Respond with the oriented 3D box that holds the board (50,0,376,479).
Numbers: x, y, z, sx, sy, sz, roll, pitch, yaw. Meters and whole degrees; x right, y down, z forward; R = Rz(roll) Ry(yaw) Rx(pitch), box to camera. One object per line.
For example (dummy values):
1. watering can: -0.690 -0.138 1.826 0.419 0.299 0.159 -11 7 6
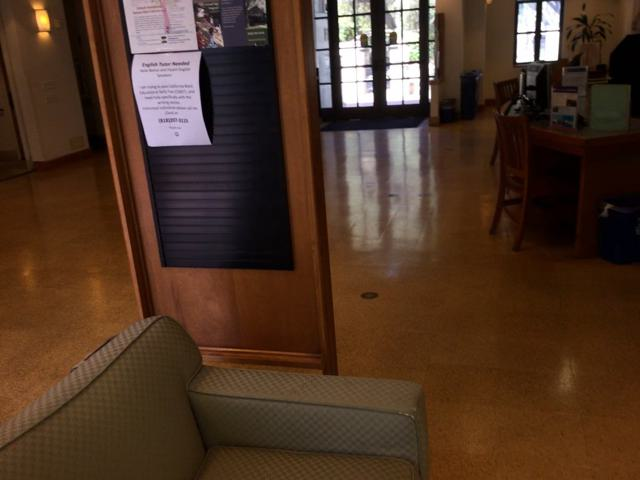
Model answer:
1. board: -0.310 -0.040 1.820 0.680 1.840 0.160 -6 15 19
